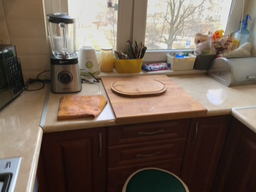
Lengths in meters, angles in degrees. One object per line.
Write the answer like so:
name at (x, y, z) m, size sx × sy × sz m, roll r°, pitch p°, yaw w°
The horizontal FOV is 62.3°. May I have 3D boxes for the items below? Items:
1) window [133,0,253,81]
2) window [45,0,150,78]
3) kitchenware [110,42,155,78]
window at (0.490, -0.810, 1.460) m, size 0.810 × 1.410 × 0.190 m, roll -3°, pitch 26°, yaw -14°
window at (-0.170, -0.780, 1.200) m, size 0.610 × 1.340 × 0.160 m, roll -5°, pitch 26°, yaw -17°
kitchenware at (0.020, -0.260, 1.500) m, size 0.280 × 0.210 × 0.150 m, roll -3°, pitch 26°, yaw -13°
